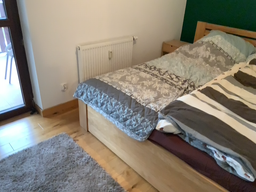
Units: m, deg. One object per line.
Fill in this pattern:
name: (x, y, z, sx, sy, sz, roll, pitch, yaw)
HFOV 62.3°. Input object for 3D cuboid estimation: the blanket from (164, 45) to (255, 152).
blanket: (1.060, -0.130, 1.790, 1.510, 0.220, 0.680, -22, 38, -38)
